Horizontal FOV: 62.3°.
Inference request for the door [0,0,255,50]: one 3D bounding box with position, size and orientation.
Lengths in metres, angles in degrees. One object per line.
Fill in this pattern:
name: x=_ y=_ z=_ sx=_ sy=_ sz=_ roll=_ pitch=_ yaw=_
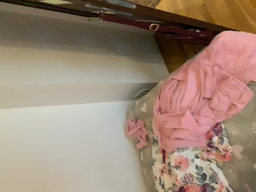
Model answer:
door: x=-0.150 y=-0.530 z=1.290 sx=0.970 sy=2.130 sz=0.090 roll=36 pitch=120 yaw=47
